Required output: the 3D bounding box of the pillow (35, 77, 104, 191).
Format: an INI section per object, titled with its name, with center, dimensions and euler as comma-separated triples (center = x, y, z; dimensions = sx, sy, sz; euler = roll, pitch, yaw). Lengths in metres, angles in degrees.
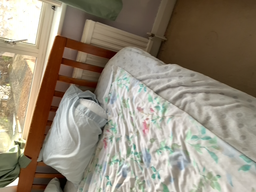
[pillow]
center = -0.440, 0.280, 1.470
dimensions = 0.420, 0.190, 0.690
euler = 41, 118, 47
